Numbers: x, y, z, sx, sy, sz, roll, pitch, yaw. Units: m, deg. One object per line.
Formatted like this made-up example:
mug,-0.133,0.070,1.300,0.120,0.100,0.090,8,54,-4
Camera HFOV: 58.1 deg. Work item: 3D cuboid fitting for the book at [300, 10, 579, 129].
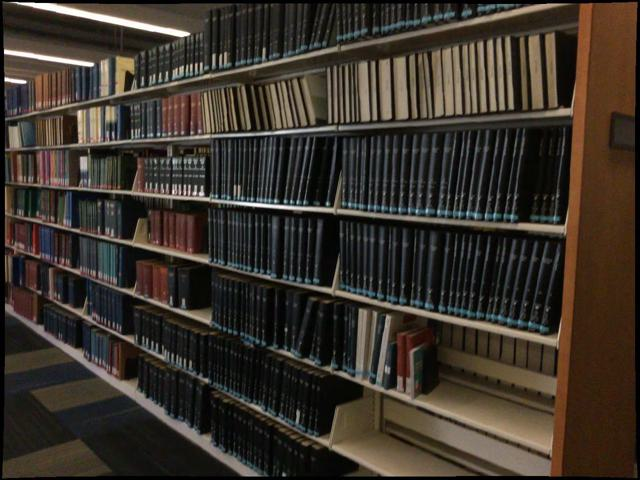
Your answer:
book,0.329,-0.531,1.950,0.190,0.251,0.999,-7,10,-42

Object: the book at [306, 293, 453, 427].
book,0.219,0.441,2.260,0.270,0.351,0.519,-7,10,-42

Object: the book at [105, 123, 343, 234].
book,-0.638,-0.331,3.000,0.140,0.421,2.018,-7,10,-42

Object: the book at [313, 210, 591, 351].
book,0.389,0.090,2.030,0.210,0.331,1.009,-7,10,-42

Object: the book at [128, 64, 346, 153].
book,-0.499,-0.602,2.860,0.260,0.301,1.518,-7,10,-42

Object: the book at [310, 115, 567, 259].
book,0.329,-0.190,1.970,0.100,0.391,0.979,-7,10,-42

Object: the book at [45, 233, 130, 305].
book,-1.696,0.180,4.140,0.150,0.351,1.159,-7,10,-42

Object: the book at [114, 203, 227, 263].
book,-0.928,-0.060,3.500,0.280,0.271,0.869,-7,10,-42

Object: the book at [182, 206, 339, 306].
book,-0.319,0.040,2.690,0.130,0.341,1.039,-7,10,-42

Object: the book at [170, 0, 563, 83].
book,-0.040,-0.902,2.260,0.150,0.331,1.968,-7,10,-42

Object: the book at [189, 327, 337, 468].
book,-0.309,0.702,2.740,0.130,0.361,0.989,-7,10,-42

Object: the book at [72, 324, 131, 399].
book,-1.556,0.842,4.080,0.110,0.341,0.729,-7,10,-42

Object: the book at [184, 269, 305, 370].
book,-0.379,0.351,2.730,0.150,0.311,0.769,-7,10,-42

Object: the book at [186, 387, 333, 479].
book,-0.329,1.013,2.780,0.140,0.311,0.989,-7,10,-42

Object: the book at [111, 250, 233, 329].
book,-0.928,0.271,3.500,0.280,0.291,0.979,-7,10,-42
